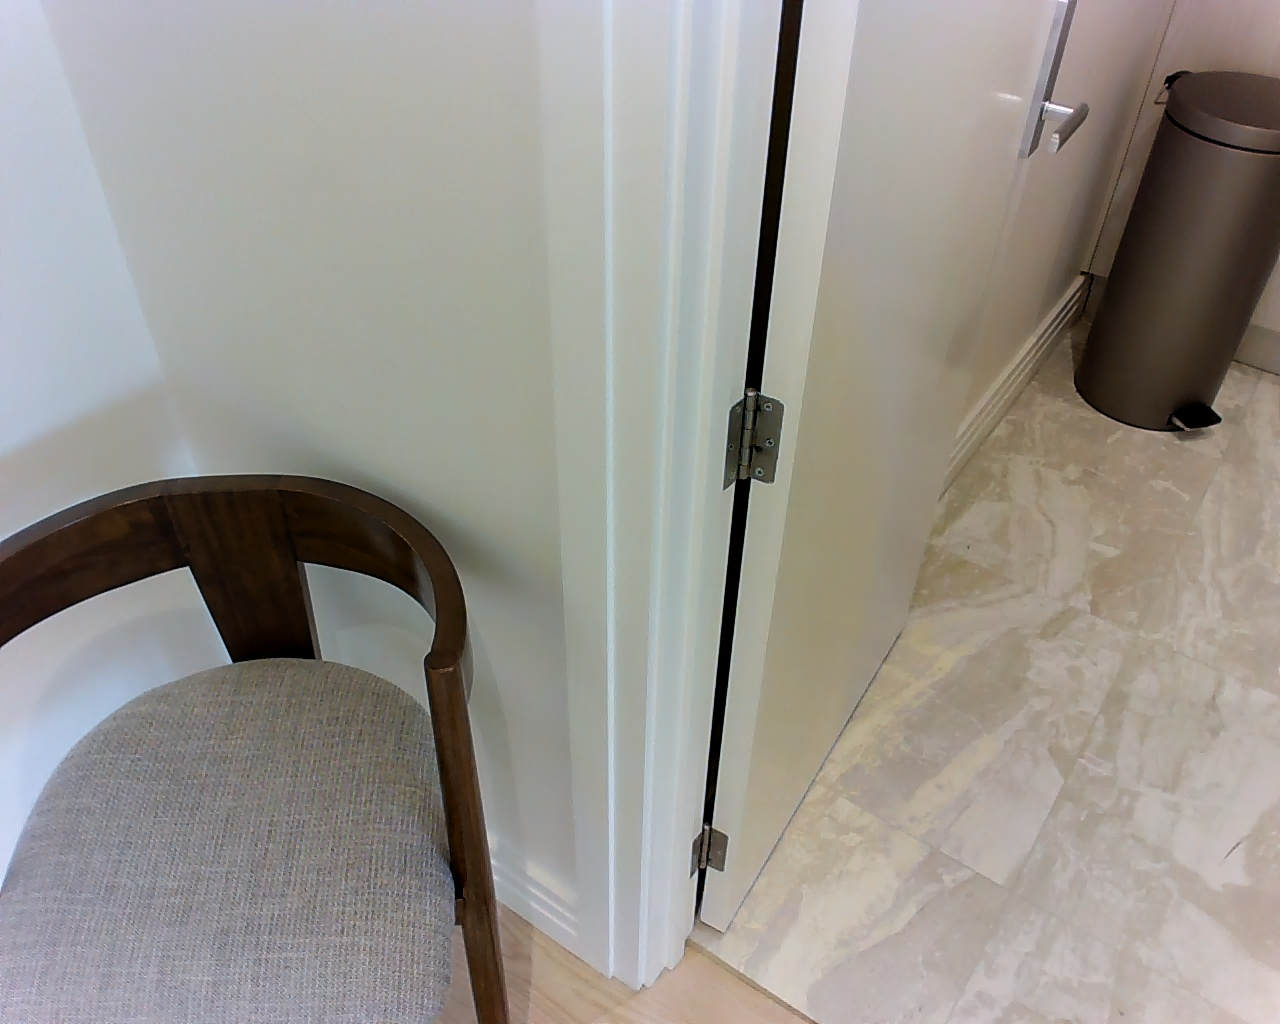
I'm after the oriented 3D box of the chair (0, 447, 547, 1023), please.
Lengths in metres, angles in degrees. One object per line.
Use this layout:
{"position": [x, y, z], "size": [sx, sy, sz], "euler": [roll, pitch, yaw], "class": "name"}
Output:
{"position": [-0.400, 0.370, 1.140], "size": [0.570, 0.710, 0.490], "euler": [-2, 43, -3], "class": "chair"}
